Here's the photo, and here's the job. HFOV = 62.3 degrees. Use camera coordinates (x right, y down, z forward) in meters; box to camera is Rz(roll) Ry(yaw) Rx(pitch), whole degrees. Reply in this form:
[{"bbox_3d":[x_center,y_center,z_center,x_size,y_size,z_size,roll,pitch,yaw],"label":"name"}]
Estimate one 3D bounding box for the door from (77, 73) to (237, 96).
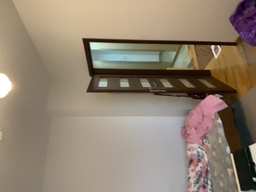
[{"bbox_3d":[0.390,-0.190,3.270,0.860,2.170,0.090,-102,13,-70],"label":"door"}]
